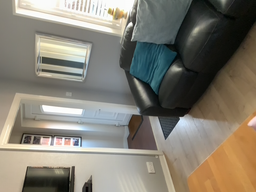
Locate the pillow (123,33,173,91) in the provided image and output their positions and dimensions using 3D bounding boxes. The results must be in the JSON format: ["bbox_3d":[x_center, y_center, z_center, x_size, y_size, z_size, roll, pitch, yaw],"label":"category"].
[{"bbox_3d":[0.200,-0.370,2.350,0.120,0.410,0.480,-32,-24,-44],"label":"pillow"}]

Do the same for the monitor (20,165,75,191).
[{"bbox_3d":[-0.770,1.020,2.010,0.760,0.490,0.060,-102,25,-43],"label":"monitor"}]

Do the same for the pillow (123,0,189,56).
[{"bbox_3d":[0.260,-0.720,2.050,0.460,0.460,0.200,-66,-3,36],"label":"pillow"}]
